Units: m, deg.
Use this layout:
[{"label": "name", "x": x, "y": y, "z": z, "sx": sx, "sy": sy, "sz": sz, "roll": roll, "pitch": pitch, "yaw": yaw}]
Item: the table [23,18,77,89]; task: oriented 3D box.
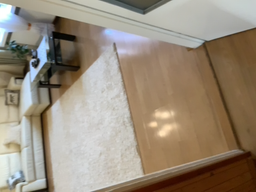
[{"label": "table", "x": -1.420, "y": -0.660, "z": 3.720, "sx": 1.160, "sy": 0.500, "sz": 0.760, "roll": -24, "pitch": 71, "yaw": 48}]
